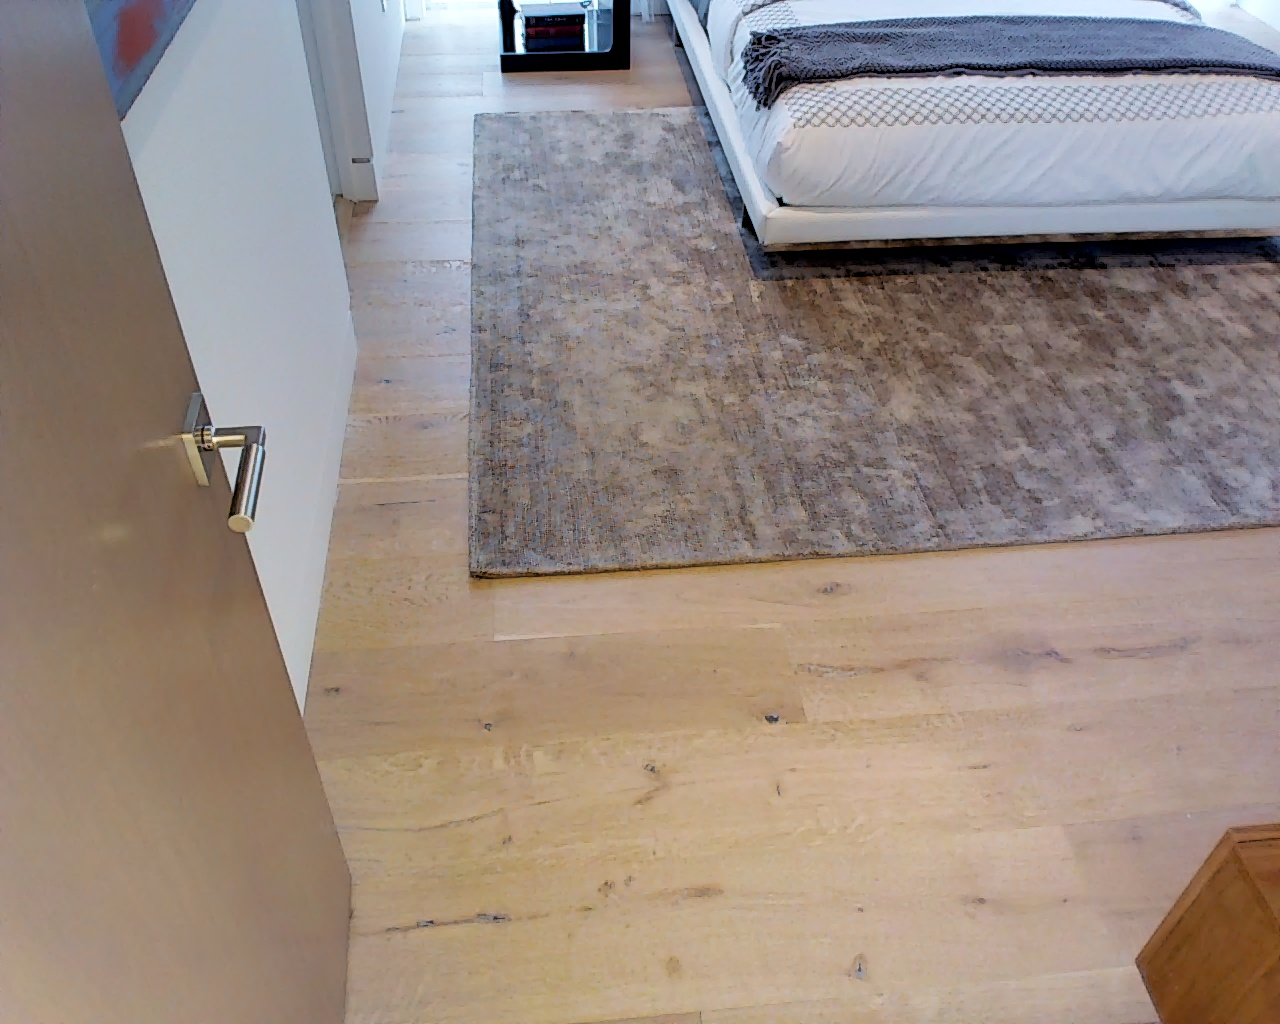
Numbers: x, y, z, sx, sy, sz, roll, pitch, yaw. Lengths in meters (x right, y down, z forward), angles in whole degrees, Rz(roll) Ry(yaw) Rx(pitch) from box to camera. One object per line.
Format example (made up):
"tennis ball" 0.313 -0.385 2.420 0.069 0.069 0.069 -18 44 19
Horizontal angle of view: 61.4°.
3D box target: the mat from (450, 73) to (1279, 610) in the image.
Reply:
"mat" 1.230 -0.750 3.160 3.469 0.120 2.380 -3 43 -5

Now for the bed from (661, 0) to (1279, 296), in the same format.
"bed" 1.160 -1.780 3.650 1.890 0.910 2.320 -3 43 -5
